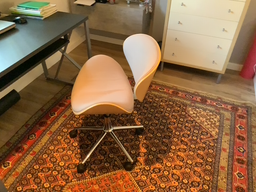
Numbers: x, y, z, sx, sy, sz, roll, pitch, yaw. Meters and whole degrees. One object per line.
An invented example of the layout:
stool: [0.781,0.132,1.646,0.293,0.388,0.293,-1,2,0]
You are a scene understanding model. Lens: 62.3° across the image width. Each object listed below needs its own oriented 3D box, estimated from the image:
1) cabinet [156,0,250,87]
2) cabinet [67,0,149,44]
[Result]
cabinet: [0.750,-0.760,2.190,0.690,1.140,0.450,16,42,16]
cabinet: [-0.240,-0.980,2.610,0.910,0.380,0.340,16,42,16]
